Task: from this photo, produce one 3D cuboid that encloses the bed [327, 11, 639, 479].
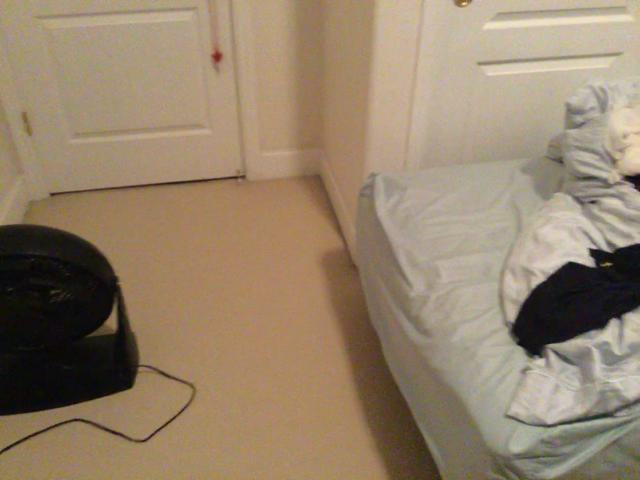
[{"bbox_3d":[1.090,-0.090,1.500,1.930,0.680,1.160,-6,36,-10],"label":"bed"}]
